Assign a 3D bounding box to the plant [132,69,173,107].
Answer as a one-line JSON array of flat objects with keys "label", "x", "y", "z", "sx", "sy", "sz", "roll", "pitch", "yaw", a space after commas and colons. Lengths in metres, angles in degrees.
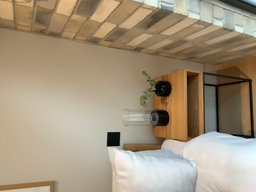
[{"label": "plant", "x": 0.150, "y": -0.040, "z": 1.310, "sx": 0.130, "sy": 0.210, "sz": 0.200, "roll": -13, "pitch": 75, "yaw": 62}]
